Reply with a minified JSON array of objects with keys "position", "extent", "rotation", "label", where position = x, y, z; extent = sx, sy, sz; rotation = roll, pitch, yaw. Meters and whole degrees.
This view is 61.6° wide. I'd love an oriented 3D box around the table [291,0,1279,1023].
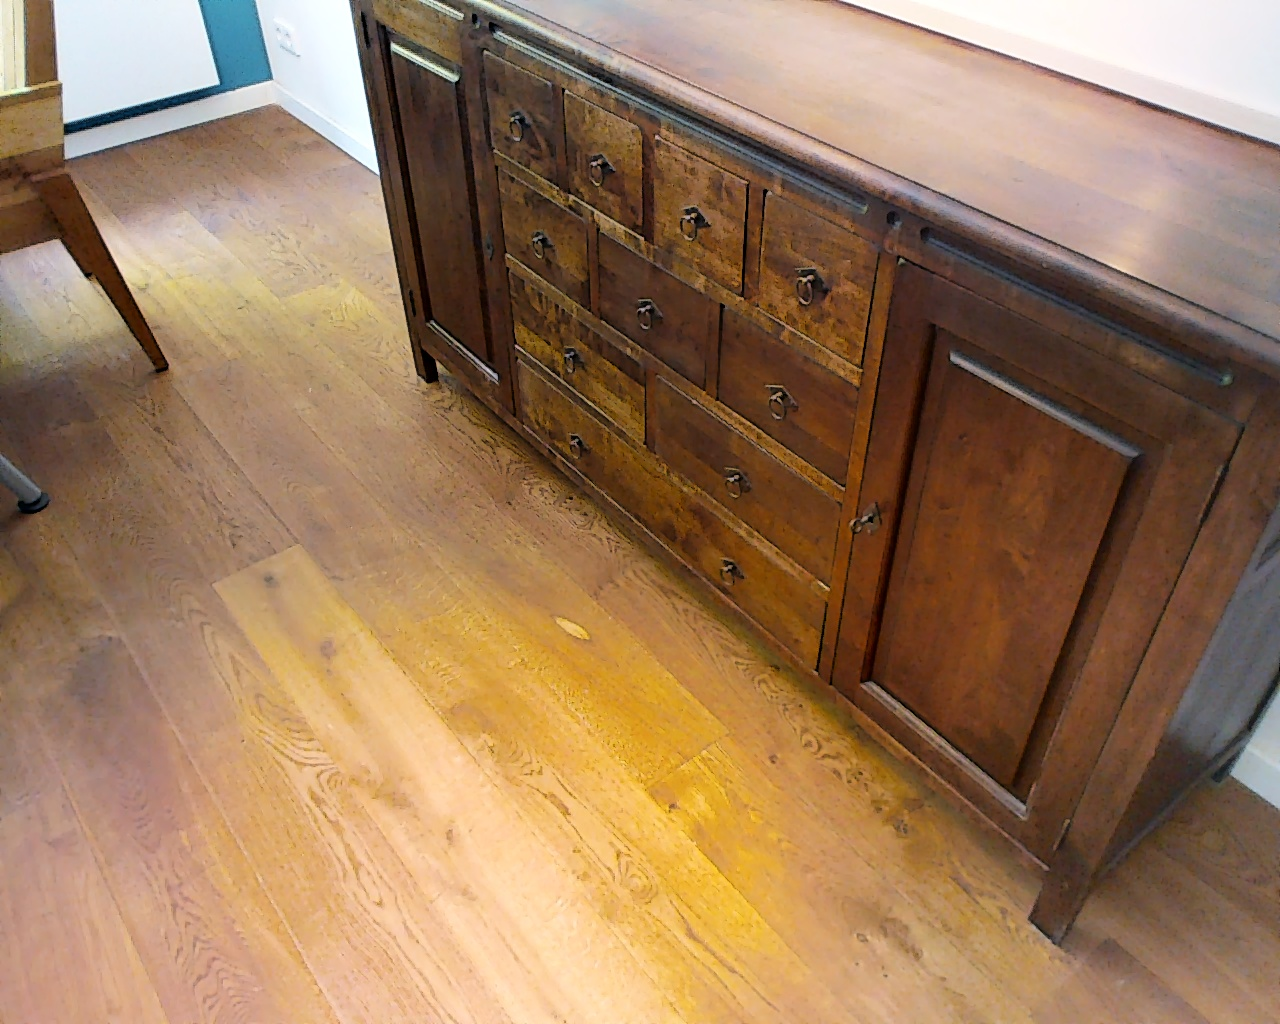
[{"position":[0.170,-0.320,1.740],"extent":[0.550,0.990,1.930],"rotation":[-28,48,-27],"label":"table"}]
